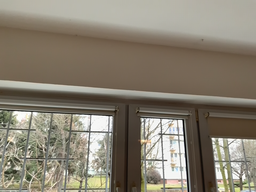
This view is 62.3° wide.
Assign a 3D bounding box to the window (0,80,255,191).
[{"bbox_3d":[0.230,0.570,1.330,2.510,1.190,0.160,4,-19,-11],"label":"window"}]
